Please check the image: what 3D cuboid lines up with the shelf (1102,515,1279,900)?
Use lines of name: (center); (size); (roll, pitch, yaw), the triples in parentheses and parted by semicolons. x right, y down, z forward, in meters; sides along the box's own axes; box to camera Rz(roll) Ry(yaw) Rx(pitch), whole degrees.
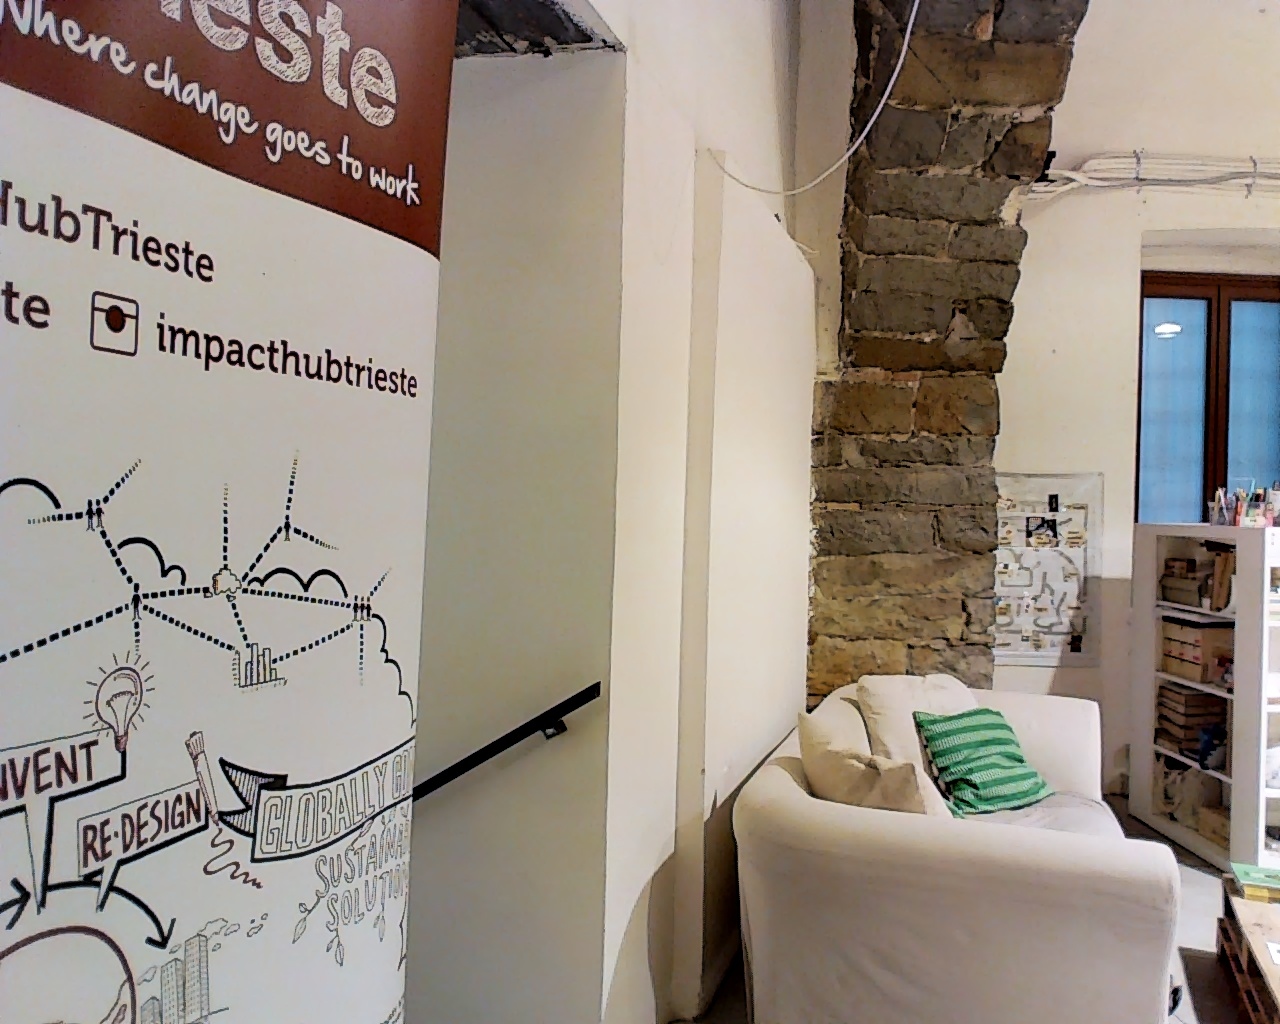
shelf: (2.789, 0.780, 4.980); (0.590, 1.500, 1.490); (2, 0, -1)
